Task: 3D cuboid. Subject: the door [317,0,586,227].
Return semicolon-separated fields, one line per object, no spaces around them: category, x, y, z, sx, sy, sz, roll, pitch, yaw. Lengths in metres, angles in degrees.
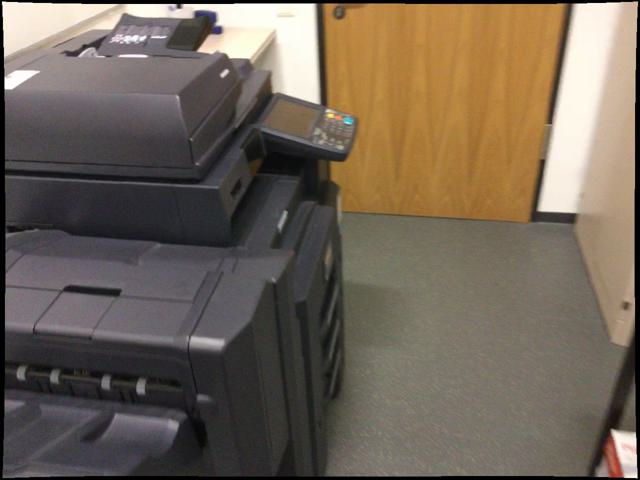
door;0.509;-1.021;2.270;1.029;2.131;0.100;4;33;6

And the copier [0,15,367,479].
copier;-0.340;0.230;1.340;0.729;1.161;1.120;5;35;10
